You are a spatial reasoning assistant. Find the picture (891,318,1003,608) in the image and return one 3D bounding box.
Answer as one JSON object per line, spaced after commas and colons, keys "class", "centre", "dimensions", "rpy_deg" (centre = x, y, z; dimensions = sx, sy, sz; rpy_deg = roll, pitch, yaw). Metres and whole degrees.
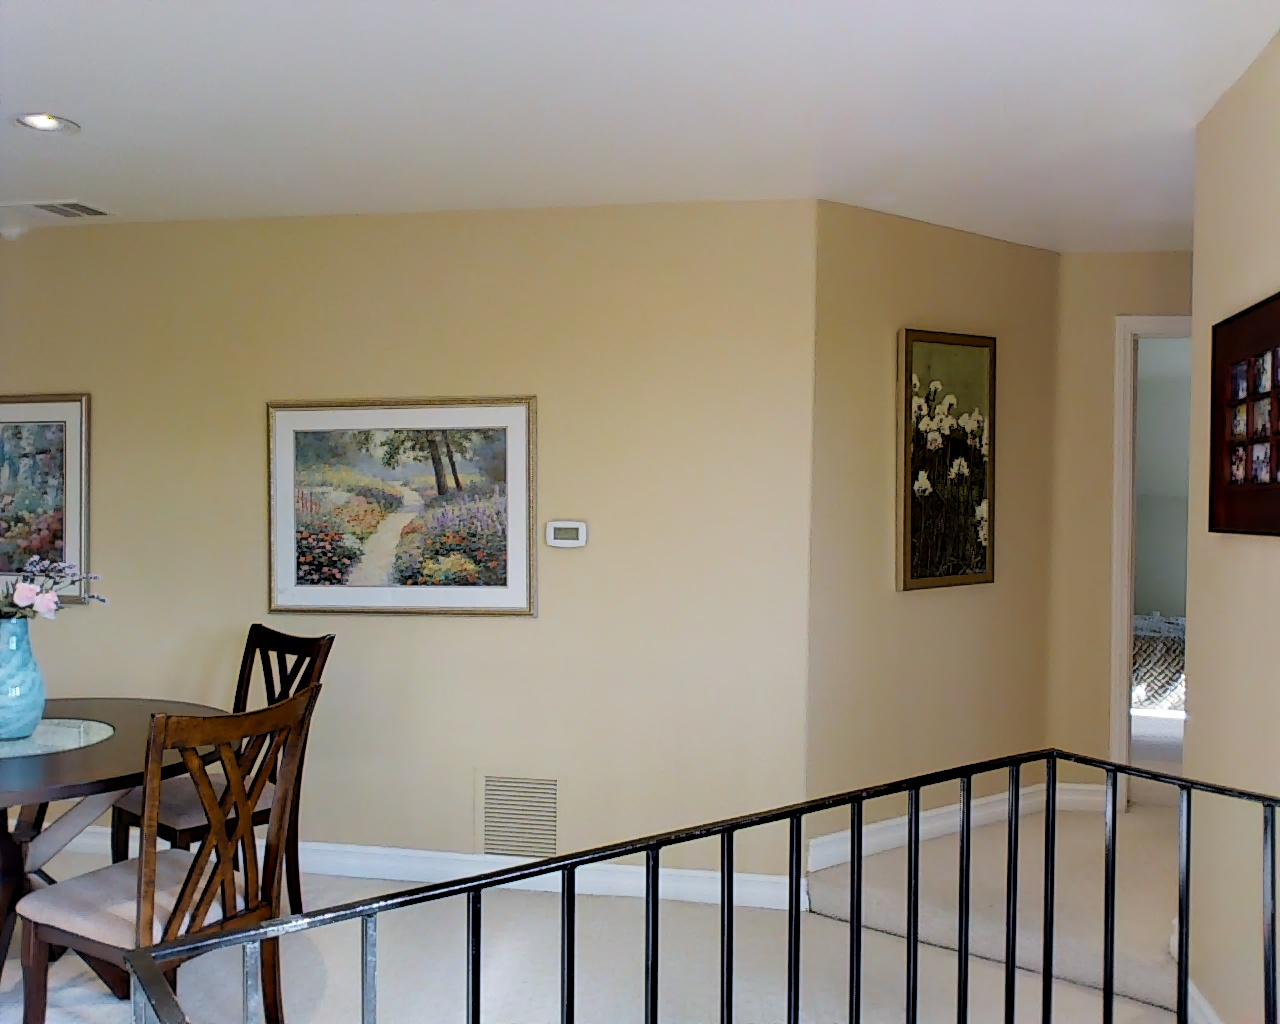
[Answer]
{"class": "picture", "centre": [1.200, -0.180, 4.160], "dimensions": [0.560, 1.080, 0.060], "rpy_deg": [1, 0, -34]}
